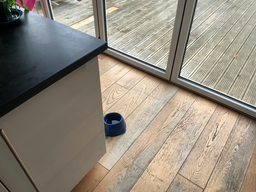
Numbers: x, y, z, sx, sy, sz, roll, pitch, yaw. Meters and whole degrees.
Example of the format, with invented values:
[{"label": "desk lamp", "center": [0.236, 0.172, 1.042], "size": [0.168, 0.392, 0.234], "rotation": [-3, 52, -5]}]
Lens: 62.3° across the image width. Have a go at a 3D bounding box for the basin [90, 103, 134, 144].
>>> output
[{"label": "basin", "center": [-0.120, 0.200, 1.610], "size": [0.220, 0.070, 0.250], "rotation": [27, 48, 23]}]
